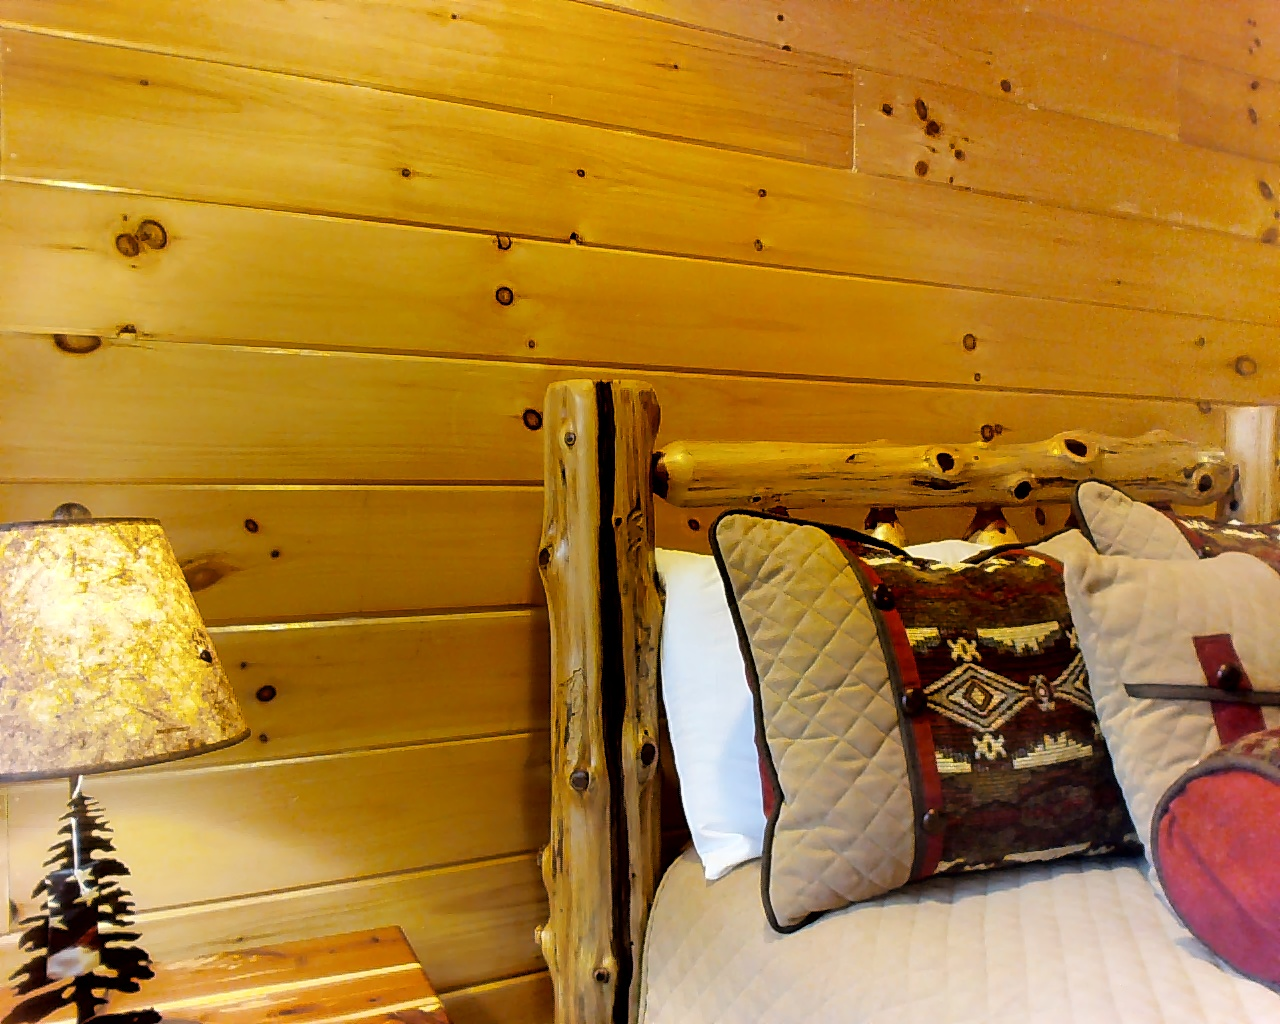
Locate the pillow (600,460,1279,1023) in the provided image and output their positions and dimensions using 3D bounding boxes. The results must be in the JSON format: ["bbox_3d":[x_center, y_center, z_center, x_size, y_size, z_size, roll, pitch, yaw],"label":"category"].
[{"bbox_3d":[0.670,0.180,1.370,1.260,0.450,0.700,-1,1,-27],"label":"pillow"}]
